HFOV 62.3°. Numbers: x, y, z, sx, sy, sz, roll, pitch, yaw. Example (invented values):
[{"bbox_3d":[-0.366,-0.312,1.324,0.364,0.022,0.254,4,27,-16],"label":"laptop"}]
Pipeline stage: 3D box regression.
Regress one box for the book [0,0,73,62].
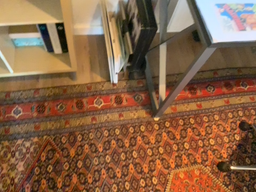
[{"bbox_3d":[-0.490,-0.370,1.170,0.330,0.240,0.260,-5,66,-11],"label":"book"}]
